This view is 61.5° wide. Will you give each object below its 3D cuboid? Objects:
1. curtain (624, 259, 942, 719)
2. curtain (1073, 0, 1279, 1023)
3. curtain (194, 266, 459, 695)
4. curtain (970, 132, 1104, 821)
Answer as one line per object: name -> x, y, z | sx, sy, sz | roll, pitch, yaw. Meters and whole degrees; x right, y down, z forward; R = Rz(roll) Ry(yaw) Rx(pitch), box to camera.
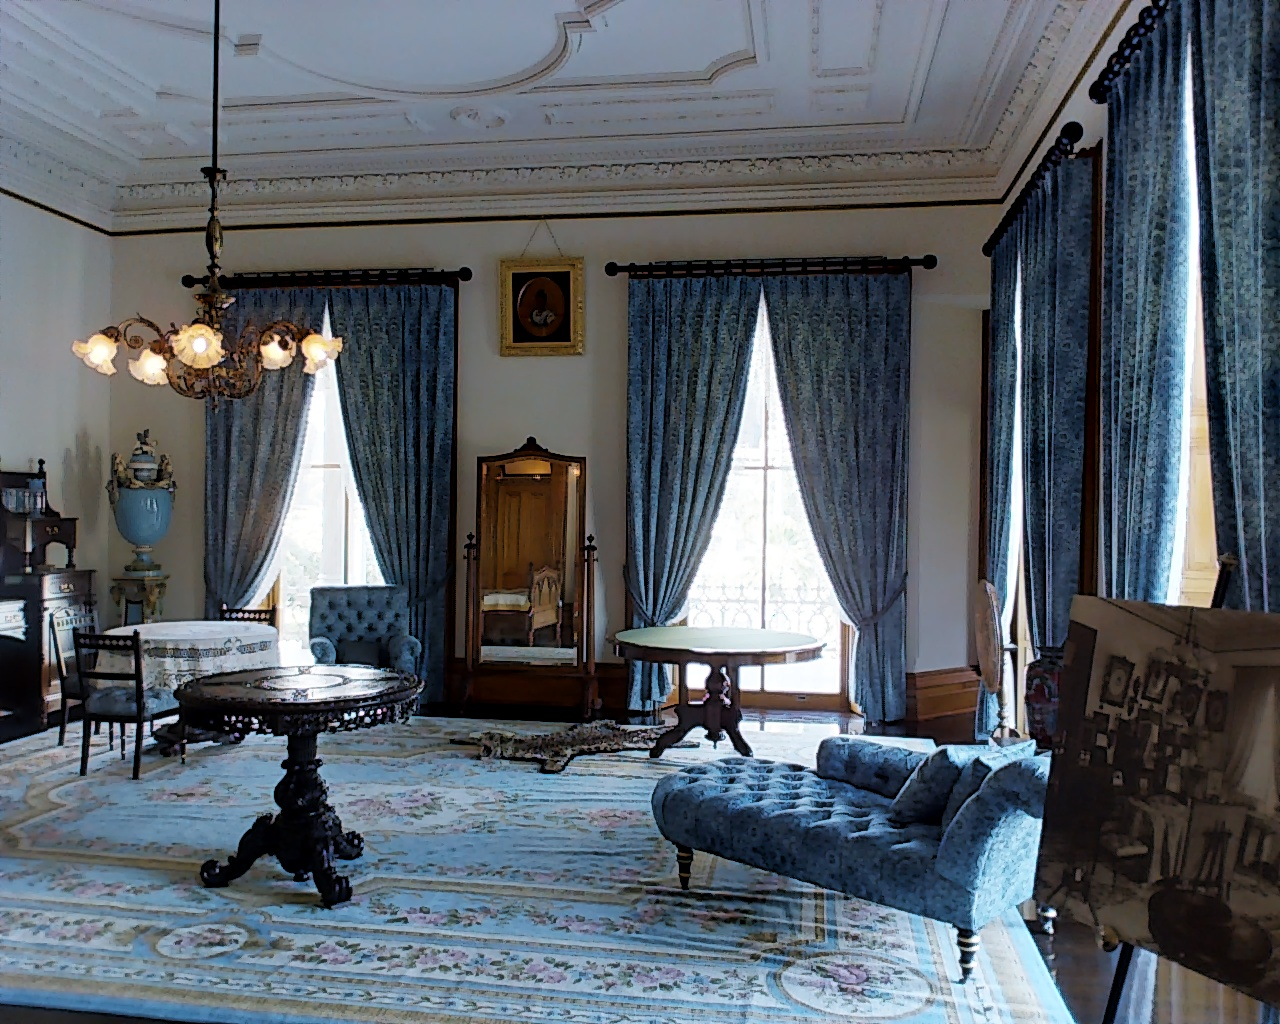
curtain -> 1.050, -0.170, 8.110 | 2.330, 3.340, 0.230 | 0, 1, 9
curtain -> 1.810, -0.190, 3.520 | 0.230, 3.420, 2.260 | 0, 1, 10
curtain -> -2.560, -0.250, 8.760 | 2.180, 3.380, 0.230 | 0, 1, 9
curtain -> 2.300, -0.180, 6.440 | 0.300, 3.360, 2.380 | 0, 1, 10
